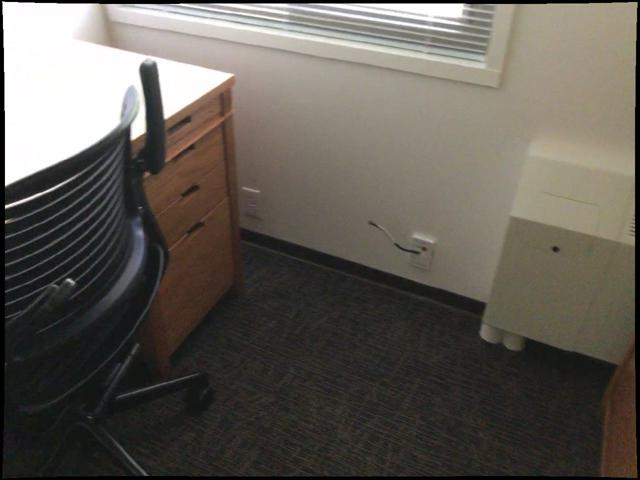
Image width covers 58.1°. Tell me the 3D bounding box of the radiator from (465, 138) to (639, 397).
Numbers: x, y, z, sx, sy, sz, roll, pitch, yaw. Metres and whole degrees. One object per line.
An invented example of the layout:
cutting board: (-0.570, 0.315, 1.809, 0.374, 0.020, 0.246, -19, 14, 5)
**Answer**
radiator: (0.688, 0.090, 1.570, 0.449, 0.641, 0.160, 15, 40, 18)

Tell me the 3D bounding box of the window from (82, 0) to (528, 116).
window: (-0.110, -0.692, 1.620, 1.307, 0.401, 0.180, 16, 40, 18)
